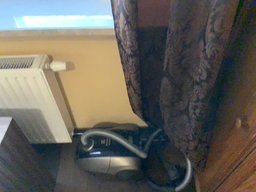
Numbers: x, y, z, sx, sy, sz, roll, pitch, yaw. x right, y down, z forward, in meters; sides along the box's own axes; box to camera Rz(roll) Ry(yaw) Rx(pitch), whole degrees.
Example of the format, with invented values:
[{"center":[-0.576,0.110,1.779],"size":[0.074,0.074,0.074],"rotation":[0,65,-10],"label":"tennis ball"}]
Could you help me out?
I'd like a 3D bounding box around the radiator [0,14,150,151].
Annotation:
[{"center":[-0.600,0.010,1.120],"size":[1.350,0.840,0.180],"rotation":[0,49,-1],"label":"radiator"}]
